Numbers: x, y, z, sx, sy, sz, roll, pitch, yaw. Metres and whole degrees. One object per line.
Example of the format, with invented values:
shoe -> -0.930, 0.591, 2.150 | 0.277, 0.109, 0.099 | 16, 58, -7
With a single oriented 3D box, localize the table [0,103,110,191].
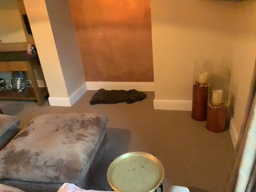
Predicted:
table -> -0.750, 0.510, 2.210 | 0.880, 0.440, 0.980 | -1, 26, 9

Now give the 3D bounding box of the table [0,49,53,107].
table -> -2.220, -0.340, 3.790 | 1.440, 0.840, 0.560 | 1, 27, 14
